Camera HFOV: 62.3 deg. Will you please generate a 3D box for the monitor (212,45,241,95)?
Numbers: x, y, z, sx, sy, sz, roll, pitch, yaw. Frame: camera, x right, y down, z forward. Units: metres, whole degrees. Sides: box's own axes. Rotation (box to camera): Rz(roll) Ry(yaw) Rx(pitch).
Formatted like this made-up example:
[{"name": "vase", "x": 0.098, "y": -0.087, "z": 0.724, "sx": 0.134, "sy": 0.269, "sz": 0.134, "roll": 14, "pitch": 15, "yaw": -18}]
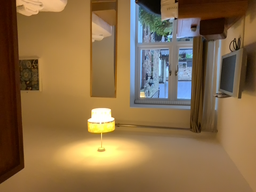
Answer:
[{"name": "monitor", "x": 0.860, "y": -0.240, "z": 1.900, "sx": 0.040, "sy": 0.370, "sz": 0.700, "roll": 1, "pitch": -171, "yaw": 10}]
